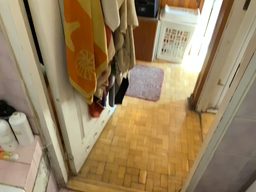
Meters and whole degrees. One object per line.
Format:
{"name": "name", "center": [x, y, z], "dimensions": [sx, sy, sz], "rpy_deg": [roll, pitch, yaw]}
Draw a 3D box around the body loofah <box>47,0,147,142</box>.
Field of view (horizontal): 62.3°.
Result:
{"name": "body loofah", "center": [-0.090, -0.370, 0.990], "dimensions": [0.180, 1.160, 0.560], "rpy_deg": [18, 44, 15]}
